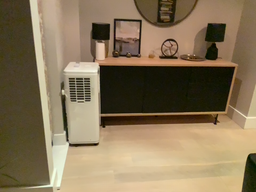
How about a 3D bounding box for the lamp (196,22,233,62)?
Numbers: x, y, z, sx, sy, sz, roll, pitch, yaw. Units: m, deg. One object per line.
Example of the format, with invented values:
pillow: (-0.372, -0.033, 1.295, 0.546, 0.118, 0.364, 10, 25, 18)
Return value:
lamp: (1.060, -0.670, 2.640, 0.270, 0.450, 0.240, -1, 22, -10)
